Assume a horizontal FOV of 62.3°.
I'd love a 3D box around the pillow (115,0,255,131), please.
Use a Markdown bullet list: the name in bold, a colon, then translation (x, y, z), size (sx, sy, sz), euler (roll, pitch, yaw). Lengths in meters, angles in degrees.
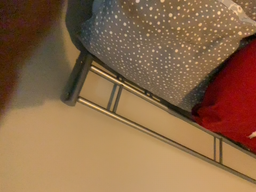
- **pillow**: translation (0.180, -0.160, 0.650), size (0.180, 0.470, 0.510), euler (-37, 70, 10)
